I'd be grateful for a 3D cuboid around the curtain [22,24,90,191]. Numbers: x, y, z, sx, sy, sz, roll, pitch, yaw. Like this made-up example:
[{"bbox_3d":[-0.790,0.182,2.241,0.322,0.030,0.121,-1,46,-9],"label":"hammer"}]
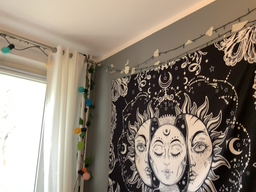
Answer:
[{"bbox_3d":[-0.670,0.270,2.010,0.360,1.840,0.330,15,-20,-42],"label":"curtain"}]
